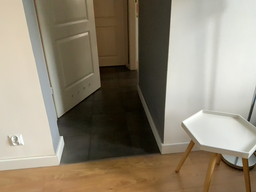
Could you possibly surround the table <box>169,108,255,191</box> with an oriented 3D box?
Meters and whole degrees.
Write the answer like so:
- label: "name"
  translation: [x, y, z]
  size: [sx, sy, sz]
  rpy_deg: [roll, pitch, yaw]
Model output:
- label: "table"
  translation: [0.490, 0.350, 1.220]
  size: [0.380, 0.400, 0.390]
  rpy_deg: [-4, 25, -6]
